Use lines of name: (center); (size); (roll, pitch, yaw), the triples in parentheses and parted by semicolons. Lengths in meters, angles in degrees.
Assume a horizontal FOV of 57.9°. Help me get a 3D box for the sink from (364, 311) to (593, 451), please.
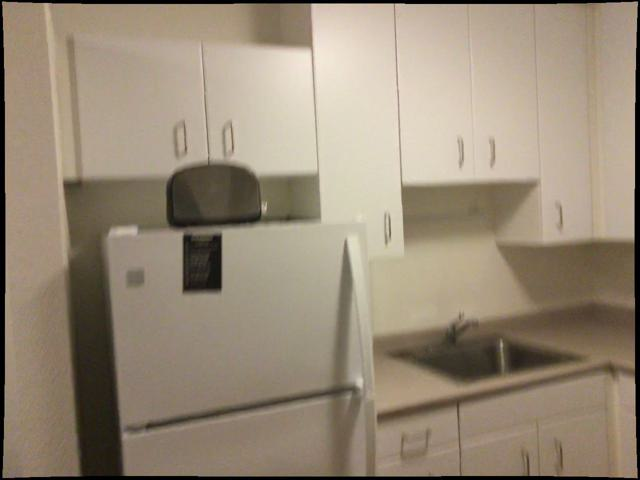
sink: (0.609, 0.521, 2.320); (0.669, 0.300, 0.560); (-6, 4, -21)
